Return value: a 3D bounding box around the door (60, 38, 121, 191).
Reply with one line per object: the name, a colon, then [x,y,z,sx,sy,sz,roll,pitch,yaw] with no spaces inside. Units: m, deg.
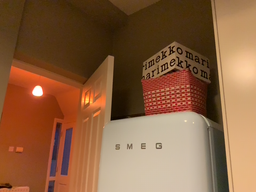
door: [-0.370,0.730,1.680,0.160,2.120,0.970,10,-18,-24]
